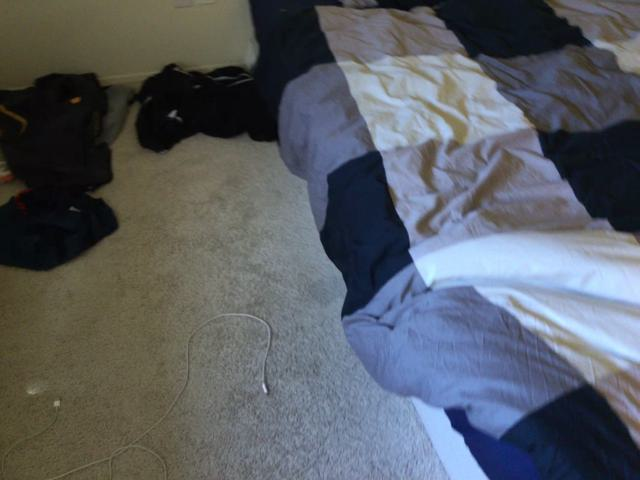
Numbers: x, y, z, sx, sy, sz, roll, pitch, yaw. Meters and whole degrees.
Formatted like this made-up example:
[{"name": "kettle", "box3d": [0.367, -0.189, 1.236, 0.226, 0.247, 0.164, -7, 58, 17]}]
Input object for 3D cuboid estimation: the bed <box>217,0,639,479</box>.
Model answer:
[{"name": "bed", "box3d": [0.750, -0.320, 1.730, 1.770, 0.560, 2.180, -11, 43, -12]}]
